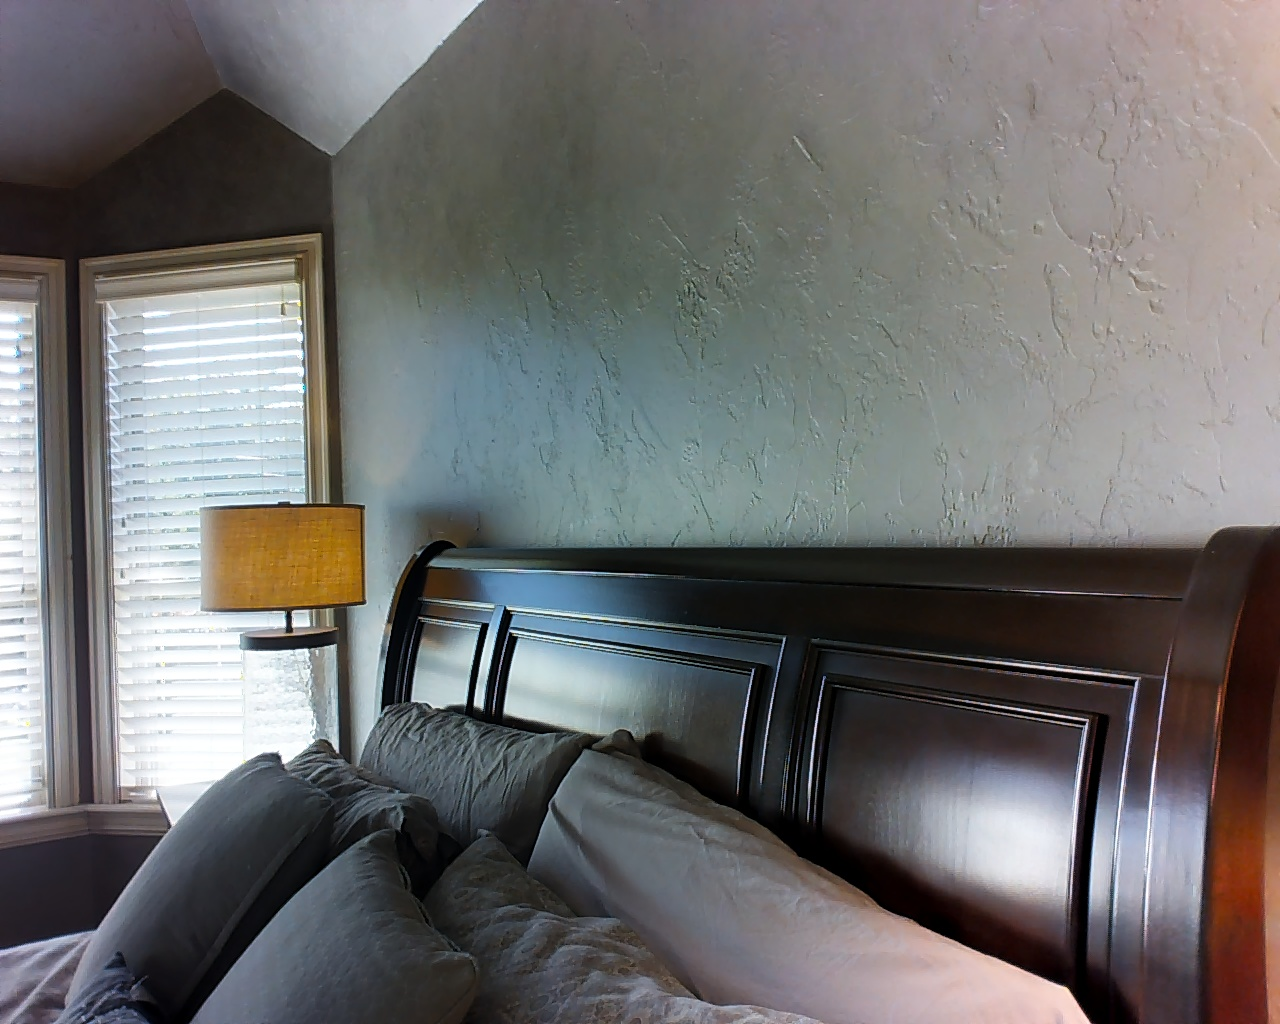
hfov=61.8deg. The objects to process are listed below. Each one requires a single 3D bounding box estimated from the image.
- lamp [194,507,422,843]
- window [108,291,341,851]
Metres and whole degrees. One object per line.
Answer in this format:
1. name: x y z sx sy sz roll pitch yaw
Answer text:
1. lamp: -0.930 0.410 2.960 0.480 0.820 0.470 -1 -2 -32
2. window: -1.400 0.200 3.590 0.730 1.810 0.140 -2 -2 11
